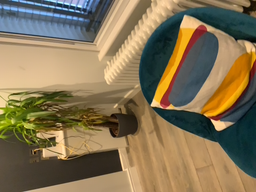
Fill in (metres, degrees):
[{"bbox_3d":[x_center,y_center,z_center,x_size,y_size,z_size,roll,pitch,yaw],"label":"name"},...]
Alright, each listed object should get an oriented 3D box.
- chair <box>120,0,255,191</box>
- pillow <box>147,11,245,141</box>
[{"bbox_3d":[0.520,-0.020,1.030,0.720,0.740,0.670,59,139,40],"label":"chair"},{"bbox_3d":[0.350,-0.060,1.040,0.390,0.510,0.170,-47,54,-9],"label":"pillow"}]
